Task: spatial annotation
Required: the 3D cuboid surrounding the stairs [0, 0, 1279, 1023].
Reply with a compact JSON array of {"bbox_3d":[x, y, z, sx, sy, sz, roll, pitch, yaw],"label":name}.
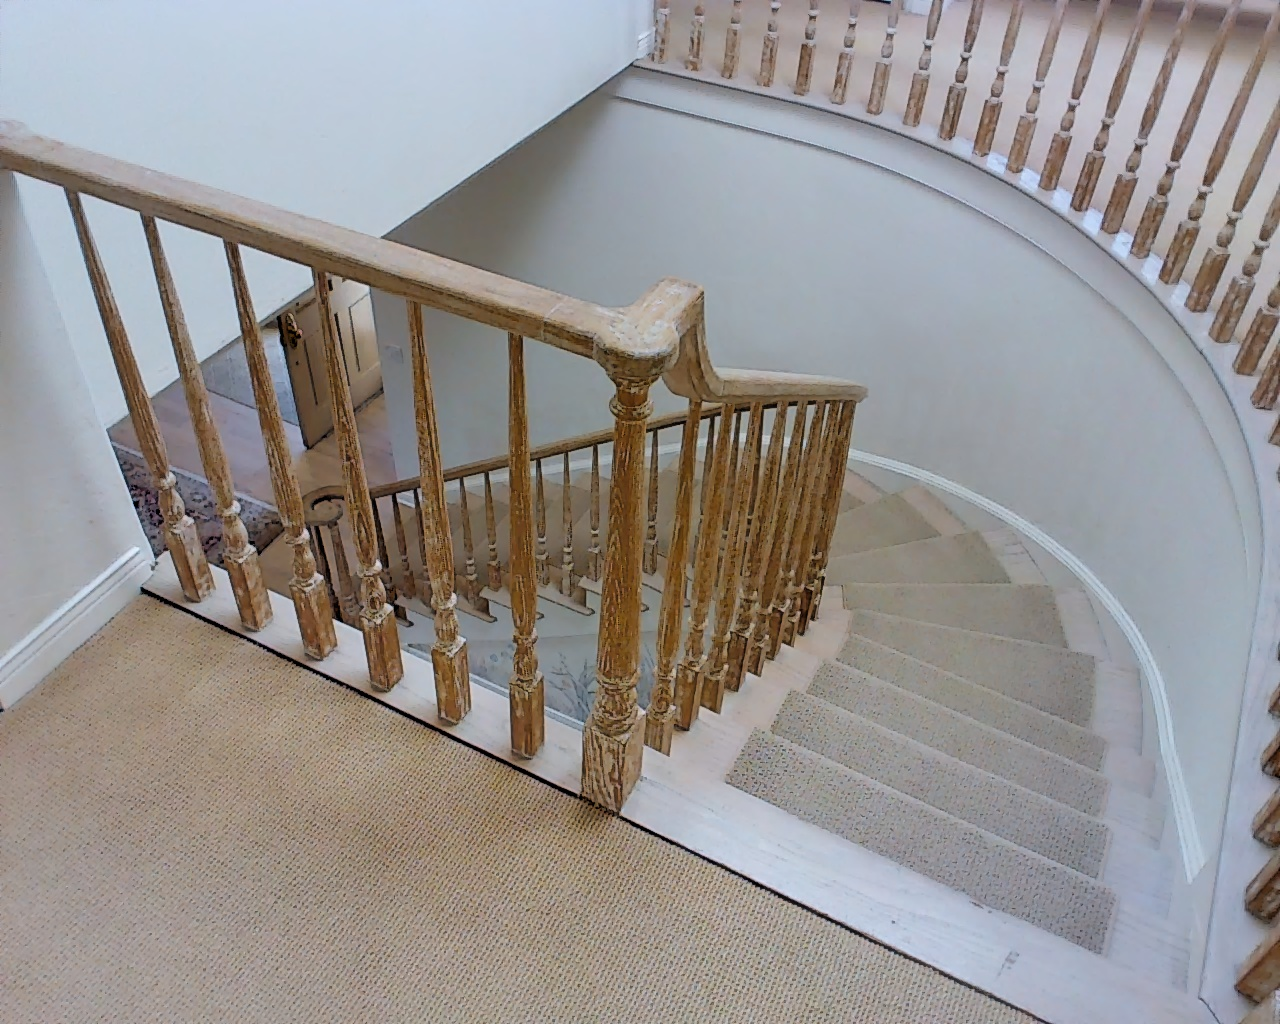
[{"bbox_3d":[0.650,-1.650,2.610,2.530,2.720,4.640,14,44,11],"label":"stairs"}]
